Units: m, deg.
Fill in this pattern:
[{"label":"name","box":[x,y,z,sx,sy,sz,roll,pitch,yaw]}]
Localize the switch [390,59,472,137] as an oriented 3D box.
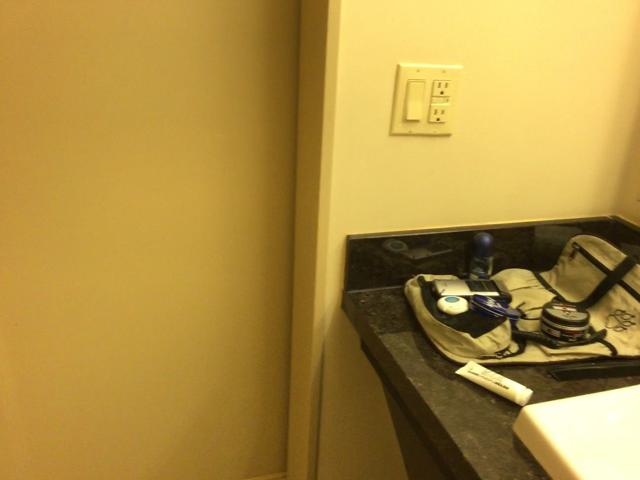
[{"label":"switch","box":[0.180,-0.230,0.940,0.120,0.120,0.020,-5,26,-18]}]
